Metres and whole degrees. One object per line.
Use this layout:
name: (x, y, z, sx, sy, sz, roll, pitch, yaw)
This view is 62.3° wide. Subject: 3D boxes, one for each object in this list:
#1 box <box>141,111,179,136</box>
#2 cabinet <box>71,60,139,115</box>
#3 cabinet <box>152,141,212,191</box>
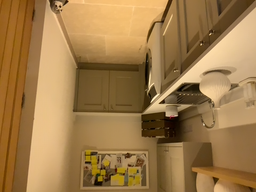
box: (0.460, 0.440, 3.260, 0.450, 0.330, 0.570, 1, 167, -5)
cabinet: (-0.360, -0.140, 3.530, 1.060, 0.870, 0.220, 1, 167, -4)
cabinet: (0.620, 1.060, 2.770, 0.380, 0.890, 1.280, 1, 167, -4)
